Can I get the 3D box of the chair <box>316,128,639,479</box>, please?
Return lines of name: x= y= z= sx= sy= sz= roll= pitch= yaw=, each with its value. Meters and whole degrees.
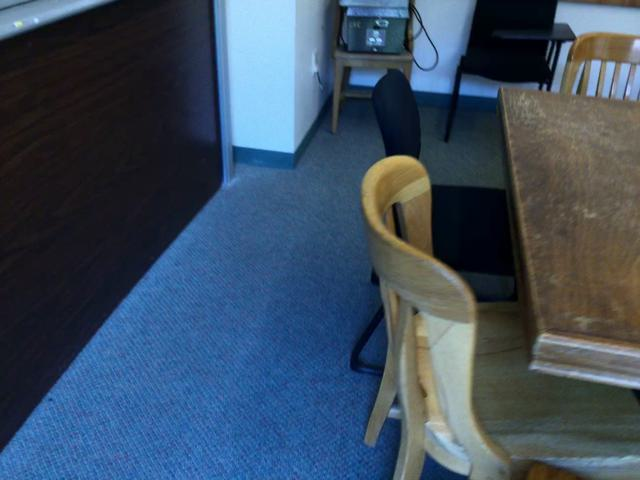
chair: x=0.340 y=0.270 z=1.190 sx=0.590 sy=0.830 sz=0.500 roll=5 pitch=32 yaw=10

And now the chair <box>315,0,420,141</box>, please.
chair: x=0.290 y=-1.130 z=3.360 sx=0.510 sy=0.890 sz=0.630 roll=5 pitch=32 yaw=10

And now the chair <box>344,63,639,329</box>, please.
chair: x=0.420 y=-0.150 z=1.610 sx=0.630 sy=0.530 sz=0.490 roll=5 pitch=32 yaw=10

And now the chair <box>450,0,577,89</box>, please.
chair: x=1.020 y=-1.170 z=3.170 sx=0.550 sy=0.470 sz=0.650 roll=5 pitch=32 yaw=10
